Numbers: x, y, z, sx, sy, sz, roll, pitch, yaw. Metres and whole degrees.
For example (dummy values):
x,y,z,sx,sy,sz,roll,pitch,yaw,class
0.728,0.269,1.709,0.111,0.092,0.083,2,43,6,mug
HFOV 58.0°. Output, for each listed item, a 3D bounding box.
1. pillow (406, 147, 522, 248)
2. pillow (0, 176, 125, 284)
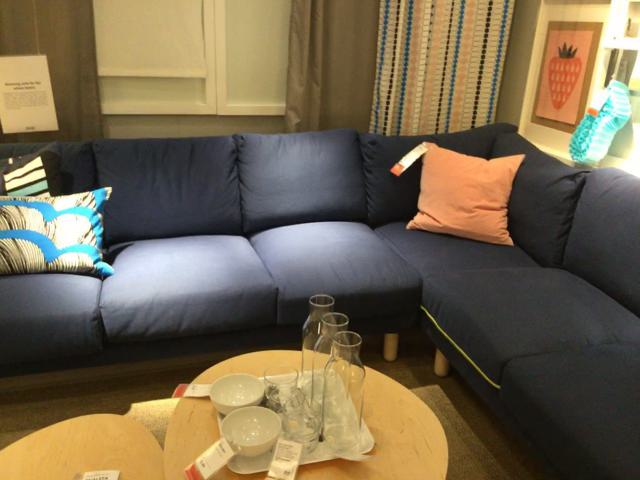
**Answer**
x,y,z,sx,sy,sz,roll,pitch,yaw,class
0.640,-0.200,2.570,0.430,0.340,0.280,10,19,17,pillow
-1.090,-0.050,2.100,0.700,0.280,0.410,-1,19,-16,pillow
